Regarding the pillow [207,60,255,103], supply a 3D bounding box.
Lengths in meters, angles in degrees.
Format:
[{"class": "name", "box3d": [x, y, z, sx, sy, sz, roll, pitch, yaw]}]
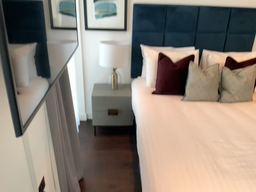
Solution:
[{"class": "pillow", "box3d": [1.100, -0.150, 2.160, 0.420, 0.300, 0.200, 13, 20, -12]}]

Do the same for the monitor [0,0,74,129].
[{"class": "monitor", "box3d": [-0.320, -0.420, 0.870, 0.040, 0.610, 1.080, -1, 24, -7]}]

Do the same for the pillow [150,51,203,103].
[{"class": "pillow", "box3d": [0.480, -0.190, 2.140, 0.370, 0.420, 0.140, 15, 19, -10]}]

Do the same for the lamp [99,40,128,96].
[{"class": "lamp", "box3d": [-0.180, -0.330, 2.520, 0.310, 0.600, 0.270, 0, 24, -6]}]

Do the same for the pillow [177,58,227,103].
[{"class": "pillow", "box3d": [0.720, -0.150, 2.090, 0.330, 0.340, 0.150, 13, 20, -13]}]
